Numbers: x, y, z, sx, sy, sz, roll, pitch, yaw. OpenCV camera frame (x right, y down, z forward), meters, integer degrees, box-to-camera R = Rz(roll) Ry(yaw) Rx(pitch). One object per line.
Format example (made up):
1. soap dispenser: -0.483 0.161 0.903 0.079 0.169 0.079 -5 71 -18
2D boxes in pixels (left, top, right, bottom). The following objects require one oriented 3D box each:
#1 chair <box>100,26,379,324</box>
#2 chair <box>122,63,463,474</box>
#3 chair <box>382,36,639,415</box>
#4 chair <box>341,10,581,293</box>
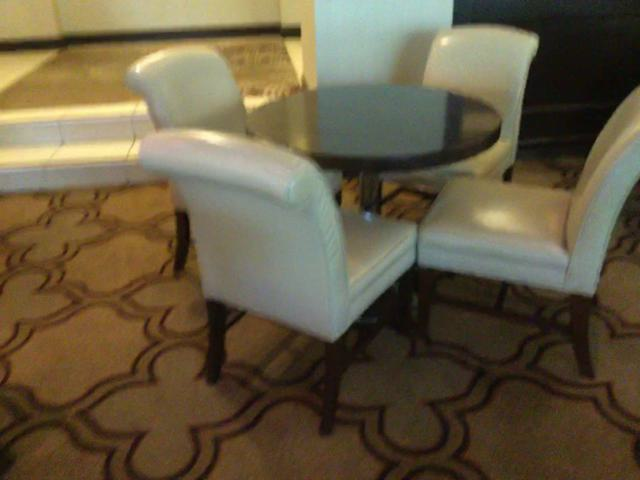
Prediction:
1. chair: -0.290 -0.320 2.390 0.850 0.930 0.600 17 34 28
2. chair: -0.020 0.010 1.800 0.560 0.880 0.830 17 34 28
3. chair: 0.760 -0.120 1.980 0.840 0.940 0.680 15 33 26
4. chair: 0.630 -0.470 2.650 0.660 0.950 0.920 19 35 31
